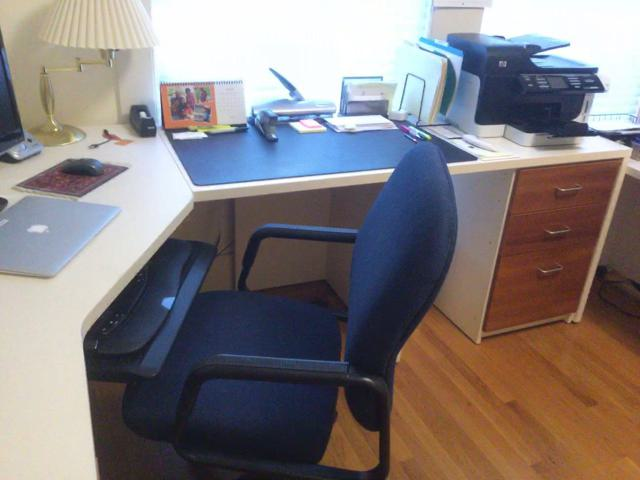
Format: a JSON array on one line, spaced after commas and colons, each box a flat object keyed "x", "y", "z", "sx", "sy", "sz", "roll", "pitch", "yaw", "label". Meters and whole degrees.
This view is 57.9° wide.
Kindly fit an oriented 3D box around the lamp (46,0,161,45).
[{"x": -0.600, "y": -0.640, "z": 1.590, "sx": 0.270, "sy": 0.170, "sz": 0.290, "roll": -6, "pitch": 25, "yaw": -21, "label": "lamp"}]

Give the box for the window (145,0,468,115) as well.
[{"x": 0.010, "y": -1.160, "z": 1.780, "sx": 1.100, "sy": 1.490, "sz": 0.130, "roll": -6, "pitch": 25, "yaw": -21, "label": "window"}]
